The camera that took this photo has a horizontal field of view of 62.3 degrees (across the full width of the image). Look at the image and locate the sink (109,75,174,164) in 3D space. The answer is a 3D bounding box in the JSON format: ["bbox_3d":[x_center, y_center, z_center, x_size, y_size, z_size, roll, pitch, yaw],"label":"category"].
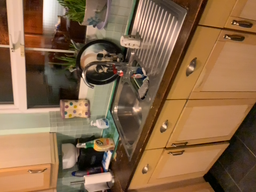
[{"bbox_3d":[0.060,0.150,1.560,0.520,0.210,0.390,-118,36,-47],"label":"sink"}]

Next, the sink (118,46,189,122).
[{"bbox_3d":[0.130,-0.100,1.380,0.520,0.210,0.230,-118,36,-47],"label":"sink"}]
